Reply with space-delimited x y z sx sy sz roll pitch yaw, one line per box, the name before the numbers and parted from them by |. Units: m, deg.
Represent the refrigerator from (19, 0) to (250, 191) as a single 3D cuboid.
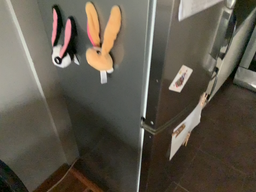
refrigerator | 0.050 -0.230 0.900 0.630 1.770 0.590 27 48 26
